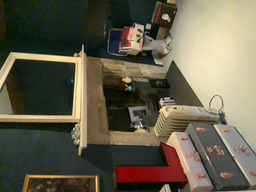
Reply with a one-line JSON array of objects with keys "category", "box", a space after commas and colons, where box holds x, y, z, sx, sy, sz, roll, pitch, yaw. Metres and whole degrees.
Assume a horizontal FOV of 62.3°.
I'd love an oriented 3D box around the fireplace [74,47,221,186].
[{"category": "fireplace", "box": [0.050, 0.150, 2.880, 1.860, 1.400, 0.660, -105, 26, -51]}]
